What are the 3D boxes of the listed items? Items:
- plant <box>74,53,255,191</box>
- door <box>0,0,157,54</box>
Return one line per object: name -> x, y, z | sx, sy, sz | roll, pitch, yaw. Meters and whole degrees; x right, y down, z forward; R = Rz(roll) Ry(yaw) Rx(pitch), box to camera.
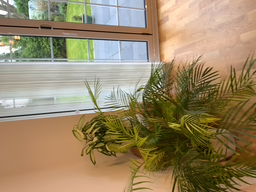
plant -> 0.260, 0.190, 1.560 | 1.330, 1.030, 0.790 | -174, 81, -66
door -> -0.590, -1.440, 2.270 | 0.090, 1.980, 1.910 | -174, 81, -66
